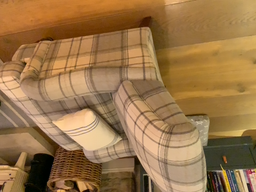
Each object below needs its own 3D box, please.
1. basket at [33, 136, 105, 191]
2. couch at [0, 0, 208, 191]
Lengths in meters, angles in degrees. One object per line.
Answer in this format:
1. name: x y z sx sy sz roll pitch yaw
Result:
1. basket: -0.630 0.840 2.490 0.580 0.490 0.580 -4 141 6
2. couch: -0.080 0.090 1.260 0.880 0.840 0.840 -10 140 14
